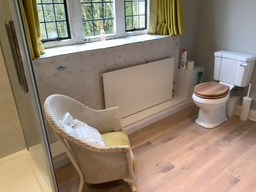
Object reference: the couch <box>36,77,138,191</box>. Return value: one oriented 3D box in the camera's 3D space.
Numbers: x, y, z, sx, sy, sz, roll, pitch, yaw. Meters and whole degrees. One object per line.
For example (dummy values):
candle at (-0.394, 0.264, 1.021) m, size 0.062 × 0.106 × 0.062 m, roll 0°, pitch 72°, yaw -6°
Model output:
couch at (-0.300, 0.330, 1.770) m, size 0.630 × 0.760 × 0.660 m, roll -5°, pitch 24°, yaw -10°
